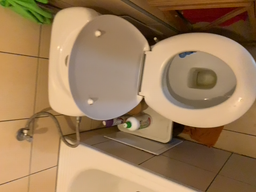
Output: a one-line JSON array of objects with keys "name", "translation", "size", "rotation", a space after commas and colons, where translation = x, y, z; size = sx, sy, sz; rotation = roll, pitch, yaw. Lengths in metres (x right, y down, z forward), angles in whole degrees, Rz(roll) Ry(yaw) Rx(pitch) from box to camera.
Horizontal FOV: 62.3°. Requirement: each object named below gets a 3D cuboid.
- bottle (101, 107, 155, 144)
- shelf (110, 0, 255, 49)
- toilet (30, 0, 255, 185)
[{"name": "bottle", "translation": [0.000, 0.140, 1.080], "size": [0.210, 0.150, 0.120], "rotation": [12, 97, 33]}, {"name": "shelf", "translation": [0.310, -0.330, 0.820], "size": [0.360, 0.870, 0.130], "rotation": [6, 94, 34]}, {"name": "toilet", "translation": [0.160, -0.080, 0.870], "size": [0.640, 0.780, 0.390], "rotation": [10, 96, 33]}]
